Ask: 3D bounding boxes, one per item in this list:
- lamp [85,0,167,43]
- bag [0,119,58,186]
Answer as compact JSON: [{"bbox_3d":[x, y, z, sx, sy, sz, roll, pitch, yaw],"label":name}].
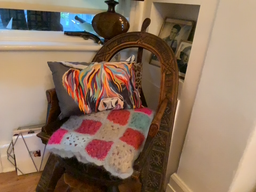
[{"bbox_3d":[-0.020,-0.660,1.250,0.360,0.600,0.390,-5,26,-25],"label":"lamp"},{"bbox_3d":[-0.620,0.350,1.350,0.300,0.330,0.150,-6,26,-26],"label":"bag"}]
